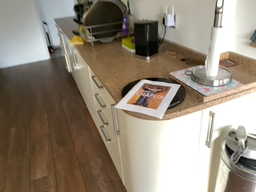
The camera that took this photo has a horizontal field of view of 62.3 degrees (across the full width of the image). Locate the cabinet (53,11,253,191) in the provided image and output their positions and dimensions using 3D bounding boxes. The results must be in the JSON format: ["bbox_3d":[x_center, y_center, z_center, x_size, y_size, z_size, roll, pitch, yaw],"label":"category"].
[{"bbox_3d":[-0.300,-0.300,2.490,0.620,0.930,3.340,-15,30,-17],"label":"cabinet"}]
